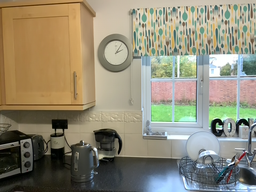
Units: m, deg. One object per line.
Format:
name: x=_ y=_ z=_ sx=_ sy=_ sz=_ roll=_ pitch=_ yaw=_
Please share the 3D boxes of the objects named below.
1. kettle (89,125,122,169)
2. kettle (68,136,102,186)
kettle: x=-0.180 y=0.420 z=1.770 sx=0.250 sy=0.320 sz=0.130 roll=0 pitch=4 yaw=6
kettle: x=-0.280 y=0.420 z=1.400 sx=0.180 sy=0.280 sz=0.150 roll=0 pitch=4 yaw=4
